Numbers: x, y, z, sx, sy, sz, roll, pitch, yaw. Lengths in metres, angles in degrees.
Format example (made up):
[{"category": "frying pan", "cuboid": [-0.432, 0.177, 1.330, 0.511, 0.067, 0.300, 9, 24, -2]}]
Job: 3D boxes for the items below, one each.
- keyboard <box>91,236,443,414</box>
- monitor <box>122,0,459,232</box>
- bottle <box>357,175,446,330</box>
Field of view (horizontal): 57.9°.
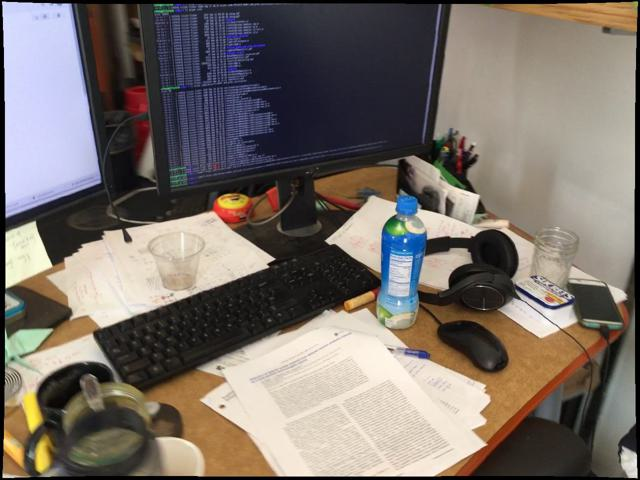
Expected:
[{"category": "keyboard", "cuboid": [-0.080, 0.110, 0.920, 0.510, 0.050, 0.210, -12, 32, -22]}, {"category": "monitor", "cuboid": [-0.040, -0.250, 0.960, 0.500, 0.360, 0.150, -12, 32, -22]}, {"category": "bottle", "cuboid": [0.120, 0.020, 0.890, 0.080, 0.210, 0.090, -11, 32, -22]}]
